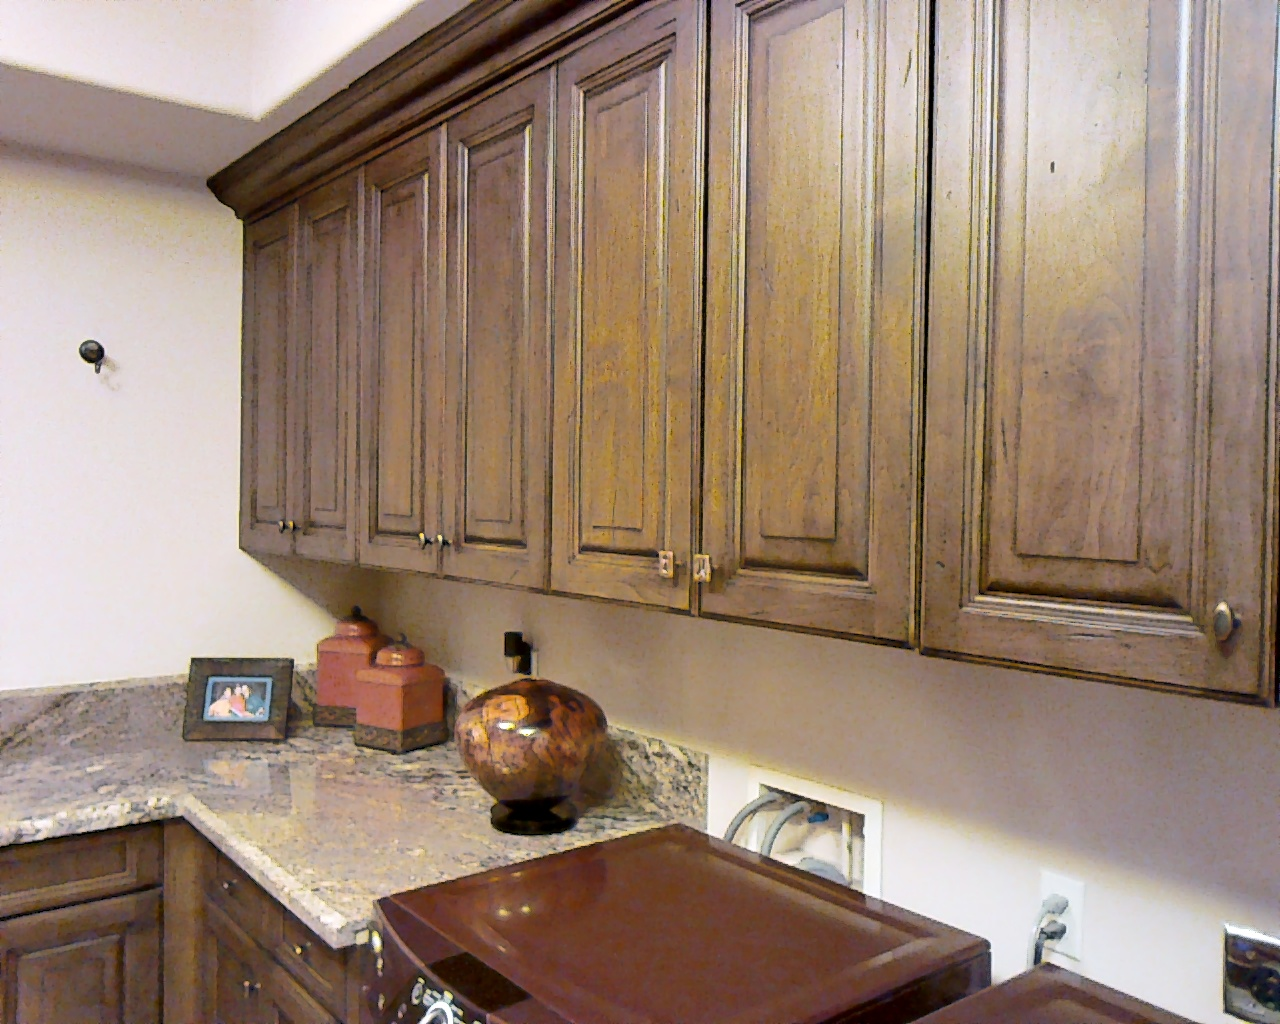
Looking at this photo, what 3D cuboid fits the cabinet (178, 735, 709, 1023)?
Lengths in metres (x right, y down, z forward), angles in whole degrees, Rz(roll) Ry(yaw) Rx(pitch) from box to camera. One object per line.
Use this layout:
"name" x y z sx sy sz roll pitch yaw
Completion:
"cabinet" -0.420 1.060 2.180 0.760 0.970 0.800 0 1 -40
